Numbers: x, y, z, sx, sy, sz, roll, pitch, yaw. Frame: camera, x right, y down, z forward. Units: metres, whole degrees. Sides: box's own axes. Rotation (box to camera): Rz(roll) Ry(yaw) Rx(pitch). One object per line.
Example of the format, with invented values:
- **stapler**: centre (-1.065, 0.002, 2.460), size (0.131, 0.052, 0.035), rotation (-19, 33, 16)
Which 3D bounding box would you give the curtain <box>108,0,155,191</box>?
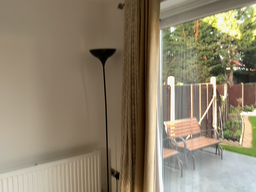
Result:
- **curtain**: centre (0.030, 0.250, 1.830), size (0.170, 2.280, 0.410), rotation (-3, 4, -35)
